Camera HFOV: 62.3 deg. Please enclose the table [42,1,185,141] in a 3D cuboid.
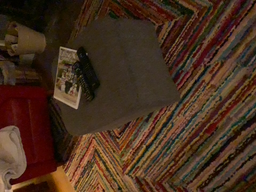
[{"bbox_3d":[-0.120,-0.080,1.200,0.640,0.390,0.470,-27,74,40],"label":"table"}]
